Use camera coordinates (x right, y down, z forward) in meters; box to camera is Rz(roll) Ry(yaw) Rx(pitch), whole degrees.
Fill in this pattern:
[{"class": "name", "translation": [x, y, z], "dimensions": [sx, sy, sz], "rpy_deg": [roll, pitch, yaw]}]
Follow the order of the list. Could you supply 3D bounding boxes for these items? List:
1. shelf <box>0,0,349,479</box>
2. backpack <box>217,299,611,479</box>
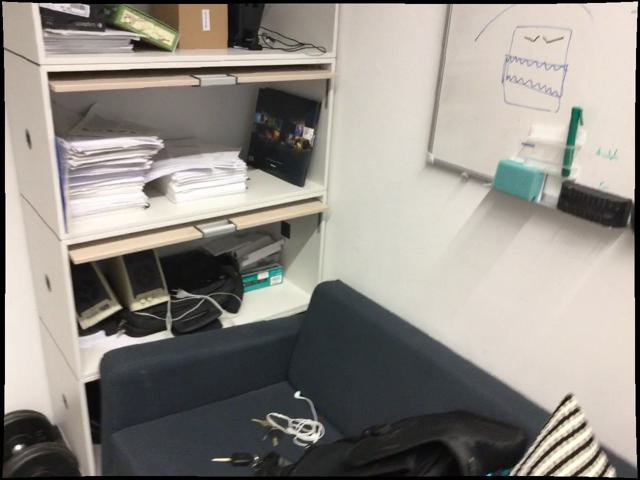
[{"class": "shelf", "translation": [-0.430, -0.300, 1.680], "dimensions": [0.830, 2.082, 0.510], "rpy_deg": [-15, 30, -37]}, {"class": "backpack", "translation": [0.160, 0.470, 1.200], "dimensions": [0.530, 0.370, 0.550], "rpy_deg": [-15, 30, -37]}]
